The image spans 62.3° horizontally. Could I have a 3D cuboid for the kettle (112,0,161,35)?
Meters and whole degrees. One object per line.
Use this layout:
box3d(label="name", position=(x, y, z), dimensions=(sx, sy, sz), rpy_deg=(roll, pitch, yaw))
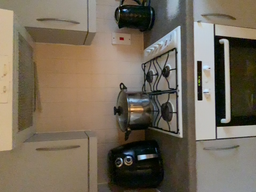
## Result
box3d(label="kettle", position=(0.050, -0.560, 1.450), dimensions=(0.220, 0.270, 0.200), rpy_deg=(168, 101, -73))

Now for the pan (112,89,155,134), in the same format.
box3d(label="pan", position=(0.030, 0.090, 1.370), dimensions=(0.230, 0.210, 0.260), rpy_deg=(176, 93, -73))
